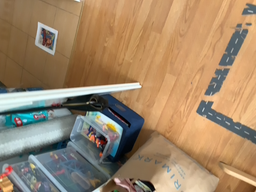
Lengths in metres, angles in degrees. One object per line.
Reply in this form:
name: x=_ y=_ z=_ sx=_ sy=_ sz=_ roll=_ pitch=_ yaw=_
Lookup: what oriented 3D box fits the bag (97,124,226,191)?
bag: x=0.190 y=0.440 z=1.110 sx=0.410 sy=0.530 sz=0.310 roll=31 pitch=112 yaw=28
